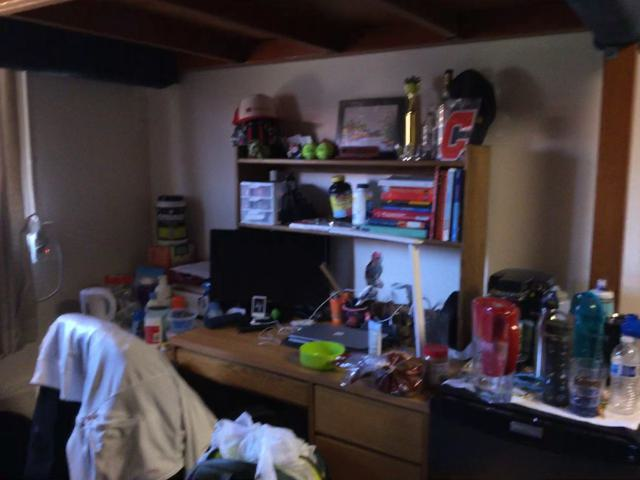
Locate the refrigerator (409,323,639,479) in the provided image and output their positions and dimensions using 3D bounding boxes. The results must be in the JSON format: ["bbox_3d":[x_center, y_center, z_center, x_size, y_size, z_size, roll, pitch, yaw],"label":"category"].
[{"bbox_3d":[0.640,0.650,1.650,0.570,0.640,0.580,4,7,33],"label":"refrigerator"}]

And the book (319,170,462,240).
[{"bbox_3d":[0.260,-0.140,2.160,0.460,0.230,0.260,4,7,34],"label":"book"}]

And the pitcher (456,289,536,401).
[{"bbox_3d":[0.470,0.270,1.540,0.150,0.240,0.180,4,7,33],"label":"pitcher"}]
